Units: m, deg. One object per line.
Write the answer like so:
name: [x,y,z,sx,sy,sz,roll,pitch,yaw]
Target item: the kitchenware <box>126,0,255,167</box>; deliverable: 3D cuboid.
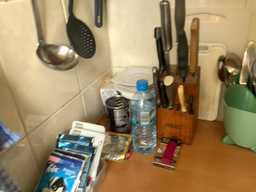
kitchenware: [0.210,-0.050,0.560,0.350,0.350,0.220,7,30,20]
